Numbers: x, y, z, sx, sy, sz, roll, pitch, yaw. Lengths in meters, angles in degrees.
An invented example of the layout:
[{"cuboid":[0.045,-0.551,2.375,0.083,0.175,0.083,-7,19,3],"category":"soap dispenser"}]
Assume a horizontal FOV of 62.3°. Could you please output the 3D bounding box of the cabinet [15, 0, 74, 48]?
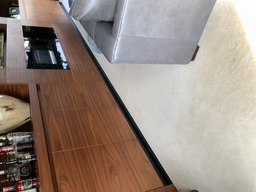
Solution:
[{"cuboid":[-1.840,-1.670,4.520,1.610,0.950,0.550,57,140,43],"category":"cabinet"}]
